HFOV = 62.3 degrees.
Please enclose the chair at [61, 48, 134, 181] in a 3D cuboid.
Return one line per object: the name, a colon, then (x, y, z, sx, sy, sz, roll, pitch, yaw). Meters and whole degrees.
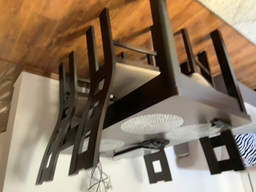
chair: (-0.280, 0.170, 1.870, 0.420, 1.040, 0.400, 14, 149, -34)
